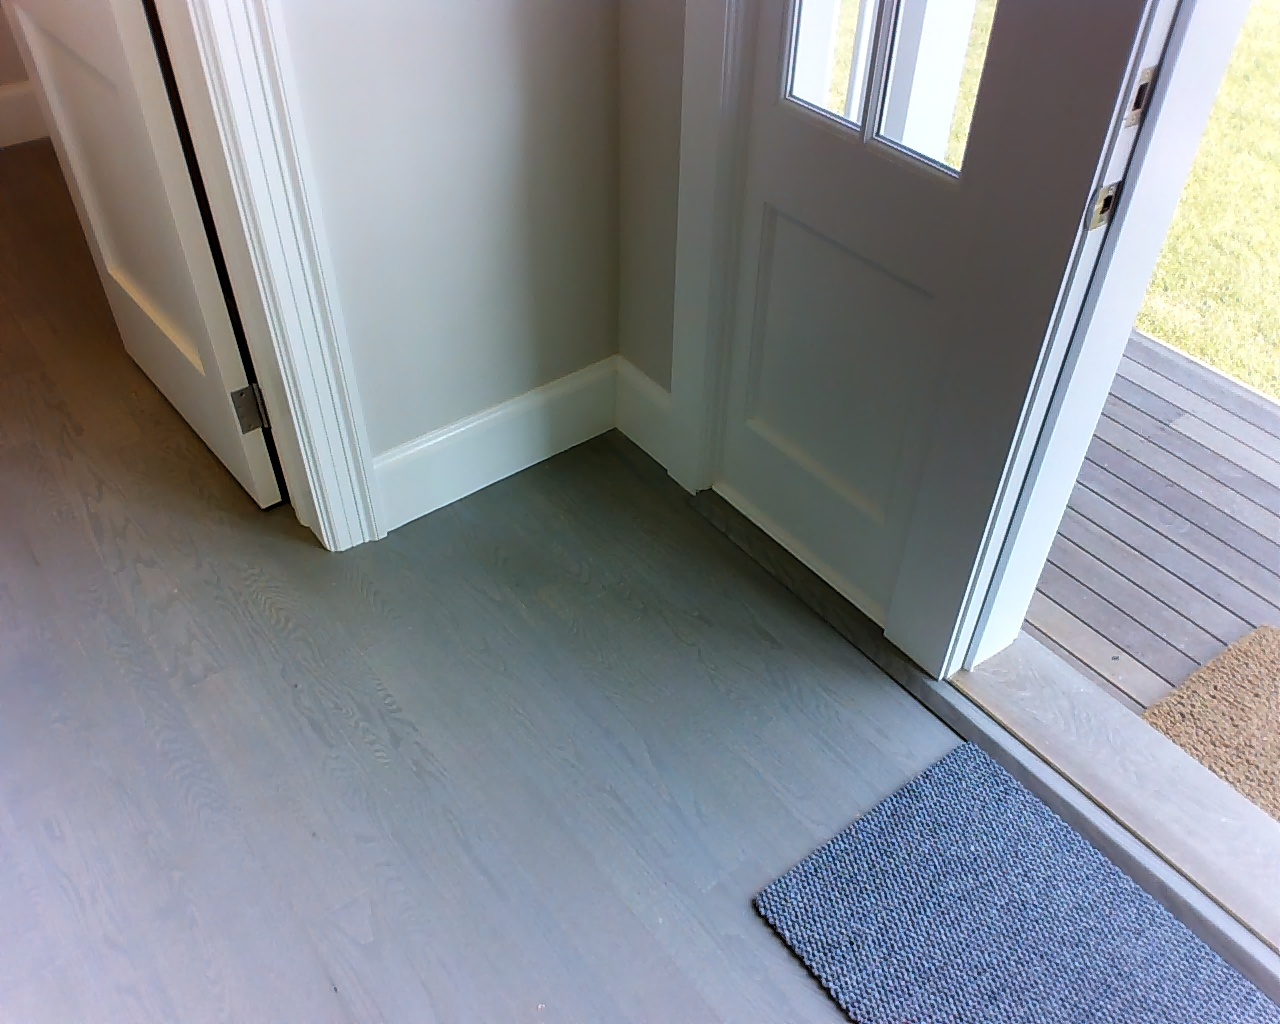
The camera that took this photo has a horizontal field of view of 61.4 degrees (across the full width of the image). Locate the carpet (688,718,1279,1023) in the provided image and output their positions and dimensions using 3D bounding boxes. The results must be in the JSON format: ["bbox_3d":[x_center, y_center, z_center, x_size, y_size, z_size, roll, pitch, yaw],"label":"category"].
[{"bbox_3d":[0.580,0.740,1.520,0.570,0.020,0.930,-26,49,-26],"label":"carpet"}]
